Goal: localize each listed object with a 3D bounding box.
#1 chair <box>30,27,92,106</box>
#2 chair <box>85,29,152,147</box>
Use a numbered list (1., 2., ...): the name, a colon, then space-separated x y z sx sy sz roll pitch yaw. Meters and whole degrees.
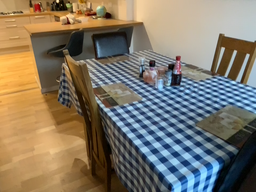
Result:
1. chair: -0.820 -0.400 2.780 0.490 0.910 0.490 3 26 8
2. chair: -0.090 -0.100 2.070 0.400 0.980 0.510 -15 29 -26
